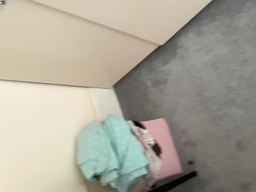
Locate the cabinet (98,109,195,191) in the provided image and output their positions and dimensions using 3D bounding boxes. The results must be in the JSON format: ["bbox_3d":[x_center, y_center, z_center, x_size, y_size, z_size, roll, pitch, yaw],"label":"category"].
[{"bbox_3d":[0.110,0.370,1.390,0.360,0.360,0.450,-36,64,37],"label":"cabinet"}]

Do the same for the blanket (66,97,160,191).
[{"bbox_3d":[-0.120,0.340,1.230,0.430,0.180,0.520,-36,64,37],"label":"blanket"}]
